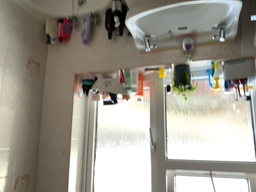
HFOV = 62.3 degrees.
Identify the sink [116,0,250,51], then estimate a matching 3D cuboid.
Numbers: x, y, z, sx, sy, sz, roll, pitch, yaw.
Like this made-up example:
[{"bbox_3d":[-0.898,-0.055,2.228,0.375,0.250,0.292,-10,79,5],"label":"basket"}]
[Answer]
[{"bbox_3d":[0.280,-0.450,1.150,0.580,0.220,0.390,-2,169,17],"label":"sink"}]
